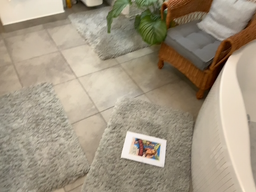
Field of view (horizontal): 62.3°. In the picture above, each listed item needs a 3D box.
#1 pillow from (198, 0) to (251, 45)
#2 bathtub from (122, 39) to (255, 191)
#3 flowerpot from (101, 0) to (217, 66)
[{"bbox_3d":[0.800,-0.660,1.780,0.120,0.370,0.390,-37,41,-13],"label":"pillow"},{"bbox_3d":[0.900,0.350,1.280,1.370,0.550,1.320,-22,55,-23],"label":"bathtub"},{"bbox_3d":[0.300,-0.870,2.280,0.980,0.550,0.630,-23,55,-24],"label":"flowerpot"}]
